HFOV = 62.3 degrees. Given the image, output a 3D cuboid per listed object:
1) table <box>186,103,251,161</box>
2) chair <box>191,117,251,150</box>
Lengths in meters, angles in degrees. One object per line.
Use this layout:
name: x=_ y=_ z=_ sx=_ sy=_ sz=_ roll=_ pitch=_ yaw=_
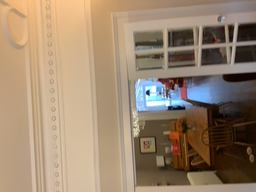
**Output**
table: x=1.760 y=0.660 z=4.370 sx=1.340 sy=0.780 sz=0.960 roll=13 pitch=-107 yaw=-85
chair: x=1.690 y=0.680 z=3.950 sx=0.550 sy=0.860 sz=0.490 roll=31 pitch=-124 yaw=-84
